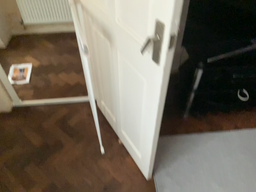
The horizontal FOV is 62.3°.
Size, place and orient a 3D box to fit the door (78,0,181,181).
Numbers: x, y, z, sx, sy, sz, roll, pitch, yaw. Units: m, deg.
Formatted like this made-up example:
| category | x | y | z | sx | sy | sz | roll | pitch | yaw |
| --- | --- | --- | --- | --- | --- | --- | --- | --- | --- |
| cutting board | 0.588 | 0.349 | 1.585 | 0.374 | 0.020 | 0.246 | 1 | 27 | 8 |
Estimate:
| category | x | y | z | sx | sy | sz | roll | pitch | yaw |
| --- | --- | --- | --- | --- | --- | --- | --- | --- | --- |
| door | -0.070 | -0.370 | 0.910 | 0.050 | 2.000 | 0.760 | -22 | 51 | -20 |

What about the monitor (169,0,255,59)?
| category | x | y | z | sx | sy | sz | roll | pitch | yaw |
| --- | --- | --- | --- | --- | --- | --- | --- | --- | --- |
| monitor | 0.920 | -0.600 | 1.270 | 1.230 | 0.800 | 0.080 | -4 | 47 | -4 |
